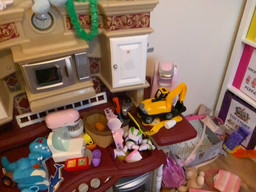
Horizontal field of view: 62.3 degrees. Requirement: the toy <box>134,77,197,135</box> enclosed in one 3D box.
[{"bbox_3d":[0.160,0.040,0.960,0.230,0.170,0.130,-15,39,-18],"label":"toy"}]
